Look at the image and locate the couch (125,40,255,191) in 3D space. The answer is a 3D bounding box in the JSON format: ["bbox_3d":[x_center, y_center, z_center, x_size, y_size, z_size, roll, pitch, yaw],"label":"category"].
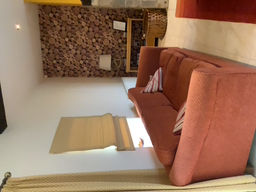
[{"bbox_3d":[0.570,-0.030,2.640,2.210,0.880,1.070,-112,24,-68],"label":"couch"}]
